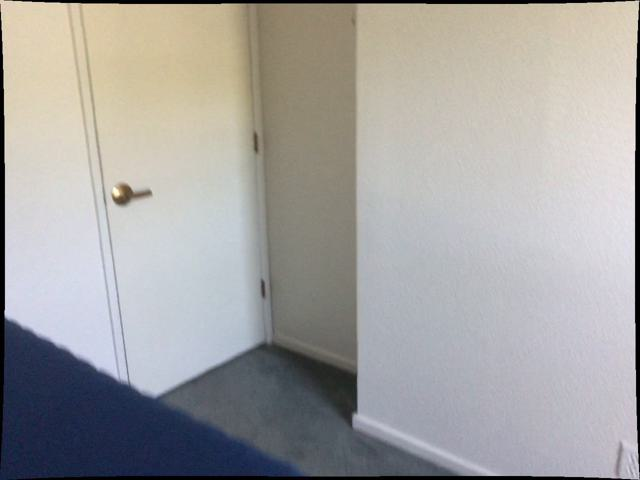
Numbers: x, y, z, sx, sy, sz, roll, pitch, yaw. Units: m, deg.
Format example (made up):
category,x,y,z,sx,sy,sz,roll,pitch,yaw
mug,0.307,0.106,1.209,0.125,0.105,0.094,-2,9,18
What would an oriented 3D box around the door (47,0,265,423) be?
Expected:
category,x,y,z,sx,sy,sz,roll,pitch,yaw
door,-0.619,-0.321,2.470,0.150,2.003,0.890,13,20,37
